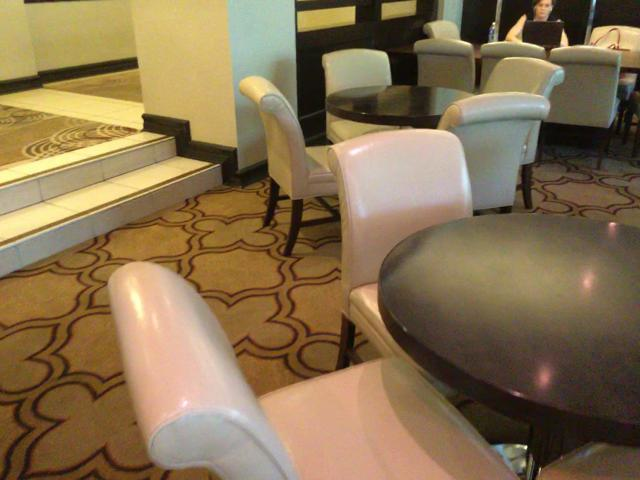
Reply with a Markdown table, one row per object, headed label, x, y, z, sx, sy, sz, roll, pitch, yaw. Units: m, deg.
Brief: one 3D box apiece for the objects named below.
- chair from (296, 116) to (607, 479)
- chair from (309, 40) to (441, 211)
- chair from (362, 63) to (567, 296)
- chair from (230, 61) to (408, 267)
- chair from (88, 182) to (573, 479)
| label | x | y | z | sx | sy | sz | roll | pitch | yaw |
| --- | --- | --- | --- | --- | --- | --- | --- | --- | --- |
| chair | 0.340 | 0.160 | 1.900 | 0.560 | 0.930 | 0.760 | -12 | 27 | -21 |
| chair | 0.340 | -0.830 | 4.010 | 0.610 | 0.950 | 0.840 | -8 | 25 | -14 |
| chair | 0.670 | -0.380 | 3.050 | 0.540 | 0.920 | 0.970 | -10 | 26 | -17 |
| chair | -0.010 | -0.460 | 3.250 | 0.770 | 0.930 | 0.590 | -11 | 27 | -21 |
| chair | -0.010 | 0.440 | 1.260 | 0.740 | 0.910 | 0.540 | -11 | 27 | -21 |
